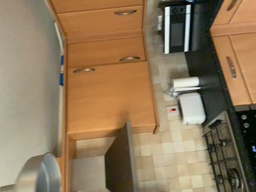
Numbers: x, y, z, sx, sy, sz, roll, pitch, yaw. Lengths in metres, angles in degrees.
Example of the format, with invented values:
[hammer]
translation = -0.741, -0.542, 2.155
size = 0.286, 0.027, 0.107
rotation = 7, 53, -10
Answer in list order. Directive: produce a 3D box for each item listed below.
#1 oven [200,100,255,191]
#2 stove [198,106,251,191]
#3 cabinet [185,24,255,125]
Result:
[oven]
translation = 0.910, 0.420, 1.600
size = 0.600, 0.420, 0.610
rotation = 87, 177, -68
[stove]
translation = 0.690, 0.450, 1.600
size = 0.560, 0.030, 0.590
rotation = 87, 177, -68
[cabinet]
translation = 1.080, -0.170, 1.840
size = 0.610, 0.910, 0.620
rotation = 87, 177, -68
